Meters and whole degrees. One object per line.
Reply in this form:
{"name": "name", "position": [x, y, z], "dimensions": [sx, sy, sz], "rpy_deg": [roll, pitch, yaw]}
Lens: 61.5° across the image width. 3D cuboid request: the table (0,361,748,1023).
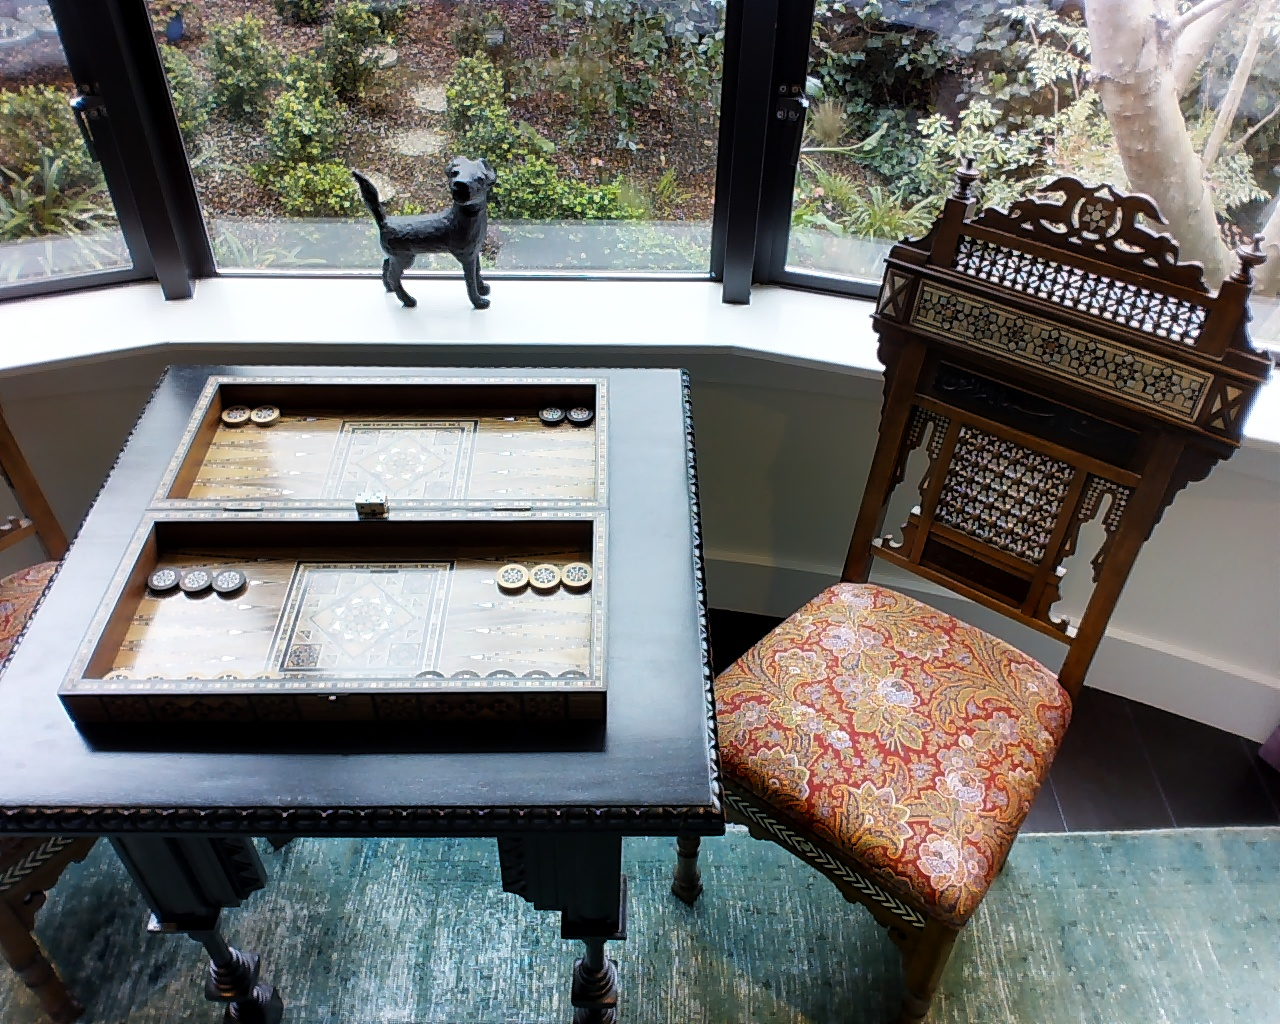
{"name": "table", "position": [-0.270, 0.300, 1.380], "dimensions": [0.710, 0.760, 0.620], "rpy_deg": [0, 42, -1]}
